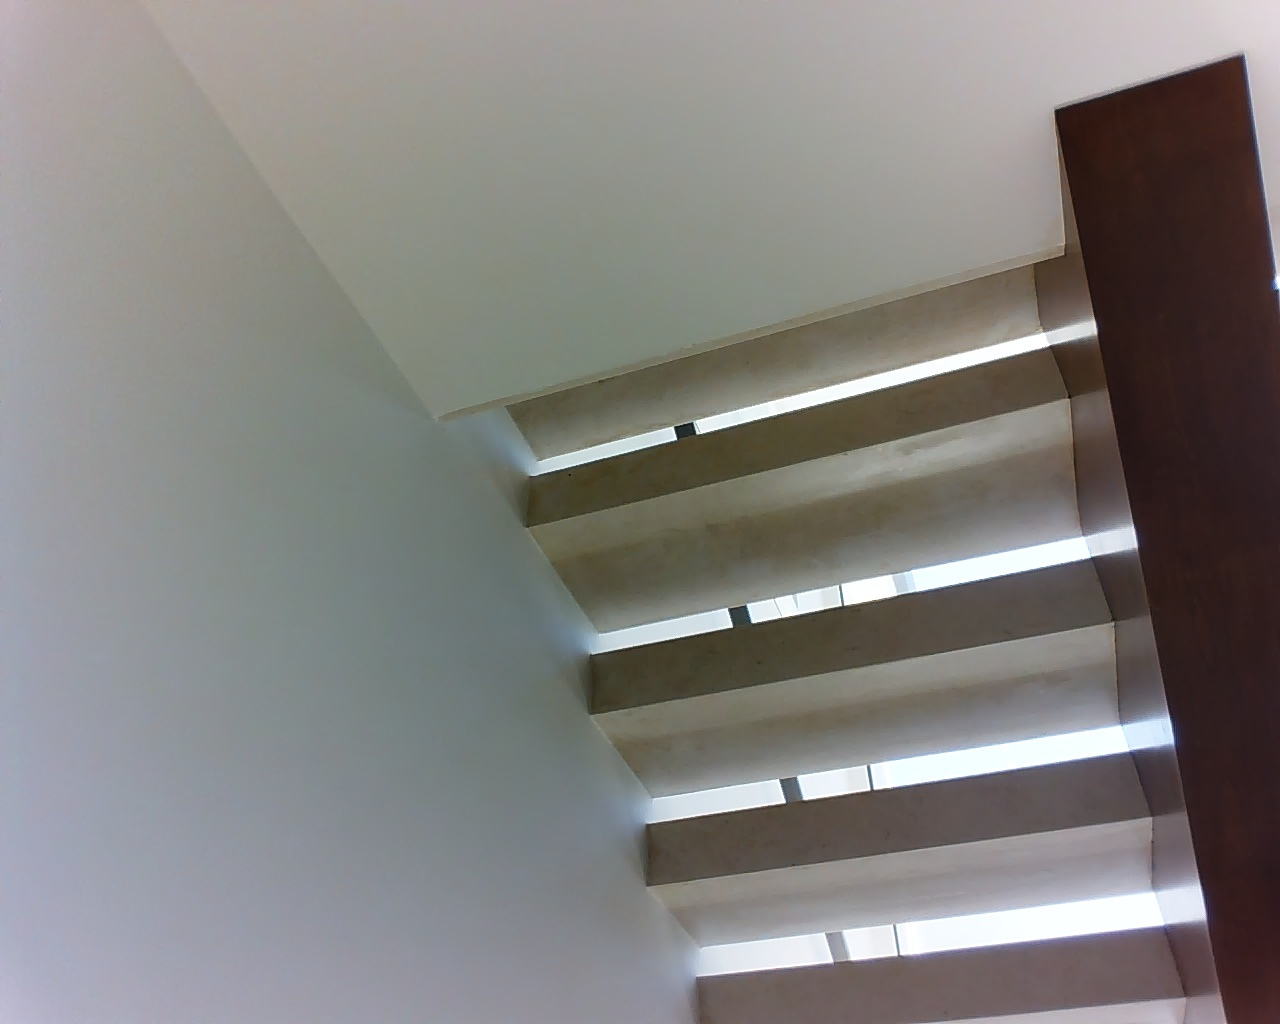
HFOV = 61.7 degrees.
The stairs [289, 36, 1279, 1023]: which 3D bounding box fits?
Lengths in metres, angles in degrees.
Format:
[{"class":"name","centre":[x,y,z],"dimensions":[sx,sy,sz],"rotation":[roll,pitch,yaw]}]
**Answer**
[{"class":"stairs","centre":[0.680,0.840,1.830],"dimensions":[1.210,1.450,2.410],"rotation":[-14,-44,15]}]
